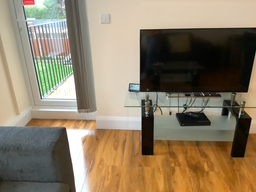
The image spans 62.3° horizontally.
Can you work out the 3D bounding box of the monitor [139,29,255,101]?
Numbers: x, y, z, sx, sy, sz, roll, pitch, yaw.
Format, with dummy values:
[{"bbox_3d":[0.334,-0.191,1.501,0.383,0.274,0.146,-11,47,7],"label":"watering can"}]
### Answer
[{"bbox_3d":[0.580,-0.260,1.870,0.960,0.620,0.060,1,23,5],"label":"monitor"}]
